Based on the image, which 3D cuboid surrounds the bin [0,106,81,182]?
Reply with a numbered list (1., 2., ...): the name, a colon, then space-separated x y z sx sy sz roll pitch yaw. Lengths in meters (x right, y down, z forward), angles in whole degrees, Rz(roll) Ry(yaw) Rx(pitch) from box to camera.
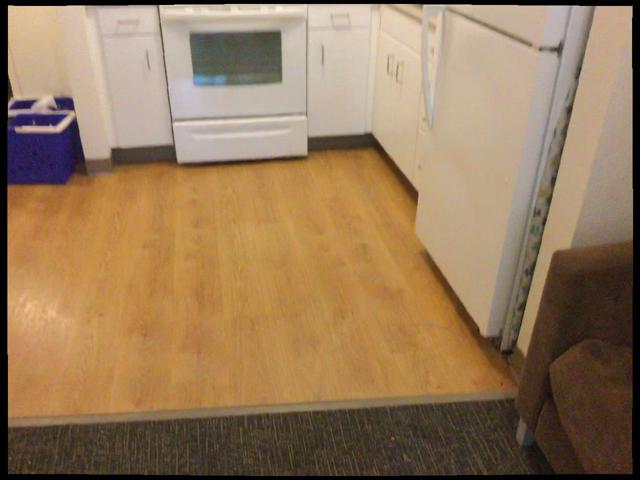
1. bin: -1.517 -0.531 3.150 0.299 0.290 0.310 -6 33 -9
